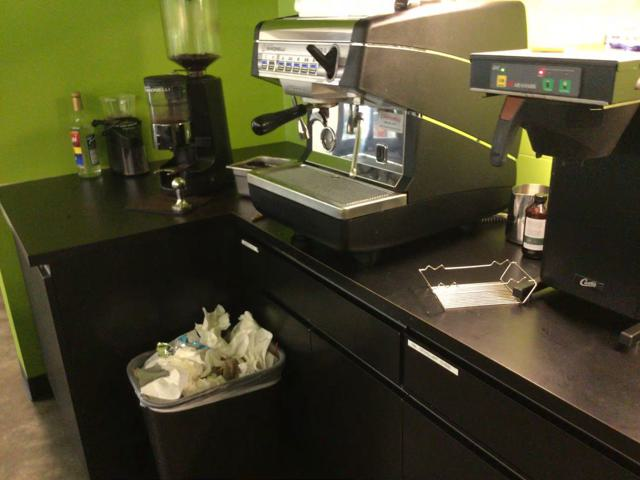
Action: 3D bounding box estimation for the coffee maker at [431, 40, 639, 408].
[{"bbox_3d":[0.450,-0.070,0.920,0.430,0.450,0.310,-11,19,-31],"label":"coffee maker"}]

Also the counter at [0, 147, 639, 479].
[{"bbox_3d":[0.720,0.360,0.290,1.160,0.310,4.560,-11,19,-31],"label":"counter"}]

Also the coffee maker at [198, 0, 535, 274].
[{"bbox_3d":[0.100,-0.290,1.320,0.580,0.530,0.440,-11,19,-31],"label":"coffee maker"}]

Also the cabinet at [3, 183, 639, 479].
[{"bbox_3d":[0.480,0.780,0.350,0.650,0.910,4.720,-11,19,-31],"label":"cabinet"}]
